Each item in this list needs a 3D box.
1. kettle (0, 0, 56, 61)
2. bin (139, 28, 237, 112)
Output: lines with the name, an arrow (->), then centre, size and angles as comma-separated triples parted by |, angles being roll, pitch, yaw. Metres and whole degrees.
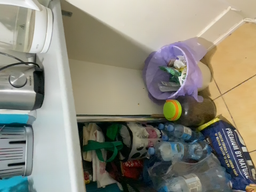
kettle -> -0.380, -0.250, 0.640 | 0.250, 0.240, 0.130 | -43, 53, 45
bin -> 0.300, -0.110, 1.130 | 0.330, 0.290, 0.270 | -42, 53, 45
